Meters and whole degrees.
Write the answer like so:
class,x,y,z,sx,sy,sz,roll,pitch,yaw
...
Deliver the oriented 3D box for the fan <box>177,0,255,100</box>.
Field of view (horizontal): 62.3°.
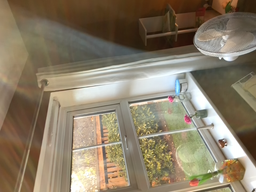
class,x,y,z,sx,sy,sz,roll,pitch,yaw
fan,0.920,-0.370,1.310,0.390,1.060,0.490,88,171,-52
